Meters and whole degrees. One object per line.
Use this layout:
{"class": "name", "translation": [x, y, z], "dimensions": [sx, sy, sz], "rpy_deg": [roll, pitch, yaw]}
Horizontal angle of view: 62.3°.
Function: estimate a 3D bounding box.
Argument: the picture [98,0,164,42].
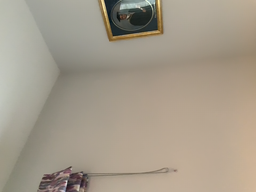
{"class": "picture", "translation": [0.030, -0.480, 1.290], "dimensions": [0.290, 0.360, 0.030], "rpy_deg": [76, -165, -46]}
